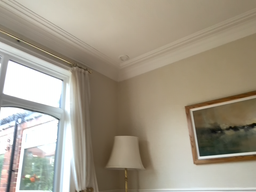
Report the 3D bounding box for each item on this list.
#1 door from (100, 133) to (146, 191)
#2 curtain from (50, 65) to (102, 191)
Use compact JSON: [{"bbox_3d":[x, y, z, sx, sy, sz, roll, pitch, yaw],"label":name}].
[{"bbox_3d":[-0.050,1.310,2.480,0.400,1.650,0.400,-15,-24,30],"label":"door"},{"bbox_3d":[-0.540,0.930,2.290,0.220,2.550,0.540,-15,-24,30],"label":"curtain"}]
